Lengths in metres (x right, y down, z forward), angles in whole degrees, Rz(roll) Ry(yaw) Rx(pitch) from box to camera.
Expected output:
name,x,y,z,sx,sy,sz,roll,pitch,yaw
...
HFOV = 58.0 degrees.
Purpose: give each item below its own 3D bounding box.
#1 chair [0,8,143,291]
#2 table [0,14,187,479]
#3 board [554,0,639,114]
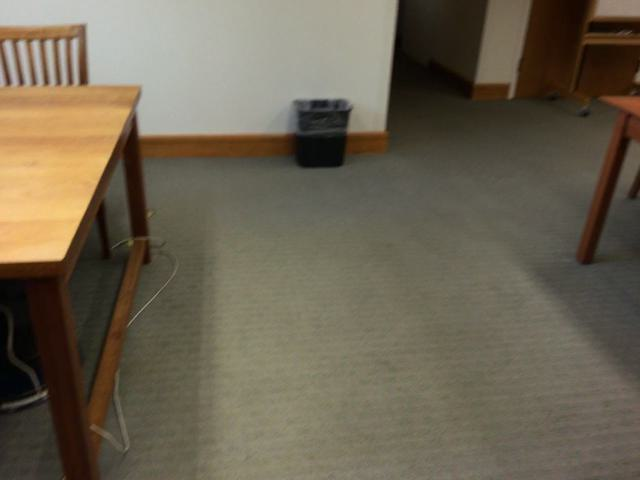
name,x,y,z,sx,sy,sz,roll,pitch,yaw
chair,-1.170,-0.410,2.470,0.570,0.990,0.590,-13,28,-12
table,-1.430,0.060,1.700,1.760,1.050,1.430,-8,27,-4
board,2.580,-1.870,4.660,1.010,1.440,0.620,-8,27,-4
